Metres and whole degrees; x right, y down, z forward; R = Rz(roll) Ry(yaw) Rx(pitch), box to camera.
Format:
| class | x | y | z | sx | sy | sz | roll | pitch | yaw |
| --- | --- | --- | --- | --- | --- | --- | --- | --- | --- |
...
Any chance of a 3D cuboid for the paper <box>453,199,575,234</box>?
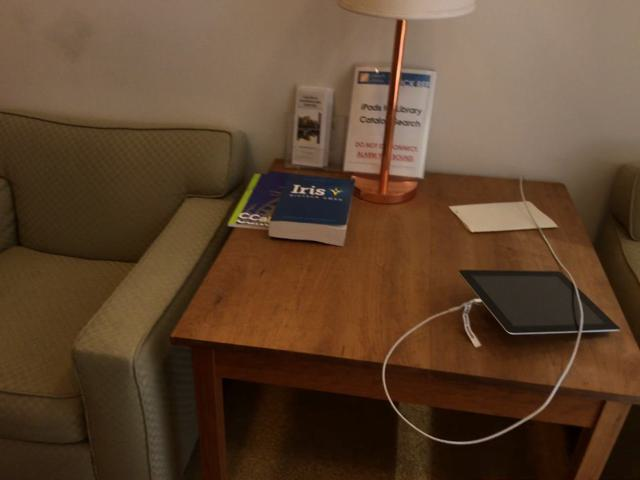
| class | x | y | z | sx | sy | sz | roll | pitch | yaw |
| --- | --- | --- | --- | --- | --- | --- | --- | --- | --- |
| paper | 0.470 | -0.060 | 1.410 | 0.250 | 0.010 | 0.140 | -4 | 29 | -14 |
